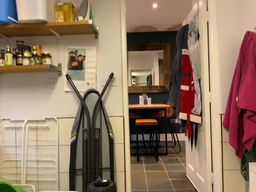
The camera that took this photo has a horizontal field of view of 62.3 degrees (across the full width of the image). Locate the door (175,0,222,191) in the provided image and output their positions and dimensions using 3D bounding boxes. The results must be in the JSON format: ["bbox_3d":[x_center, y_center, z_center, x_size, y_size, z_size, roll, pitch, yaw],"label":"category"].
[{"bbox_3d":[0.760,-0.060,2.440,0.130,2.280,1.050,-2,0,0],"label":"door"}]

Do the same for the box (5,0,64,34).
[{"bbox_3d":[-0.750,-0.790,1.750,0.310,0.430,0.390,-2,0,1],"label":"box"}]
